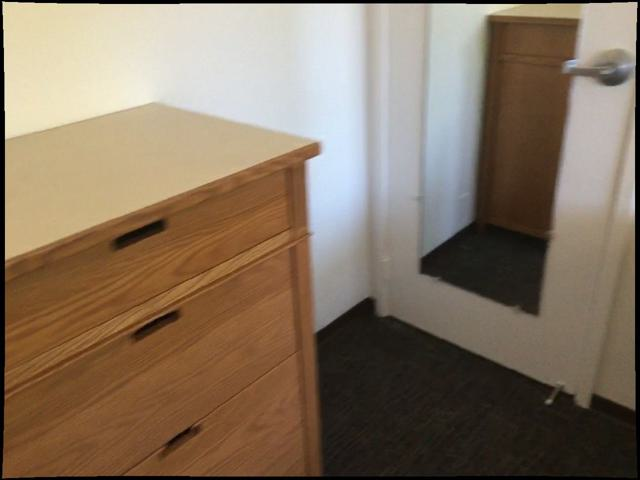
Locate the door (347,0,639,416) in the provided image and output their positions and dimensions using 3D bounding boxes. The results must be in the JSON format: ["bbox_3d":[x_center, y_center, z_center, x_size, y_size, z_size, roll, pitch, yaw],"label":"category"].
[{"bbox_3d":[0.519,-0.150,1.880,0.959,1.272,0.130,21,37,36],"label":"door"}]
